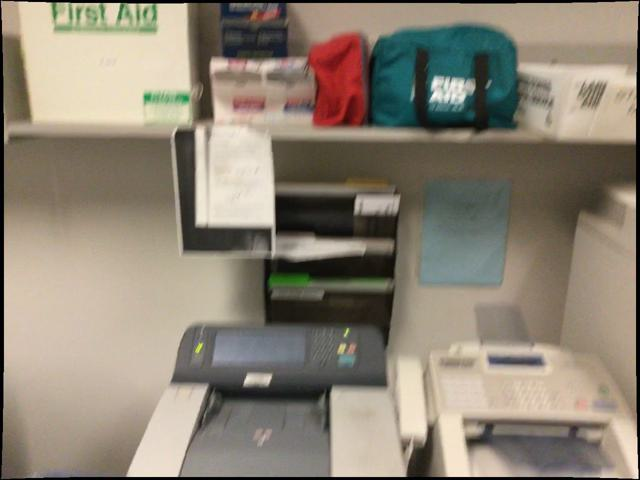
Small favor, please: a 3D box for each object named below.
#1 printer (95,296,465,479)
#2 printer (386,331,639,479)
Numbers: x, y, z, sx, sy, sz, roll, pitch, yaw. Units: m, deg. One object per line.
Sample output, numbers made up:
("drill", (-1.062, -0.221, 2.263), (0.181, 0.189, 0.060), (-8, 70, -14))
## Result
("printer", (-0.060, 0.381, 1.160), (0.549, 0.351, 0.530), (-1, 17, 0))
("printer", (0.369, 0.401, 1.090), (0.439, 0.321, 0.360), (-1, 17, 0))
